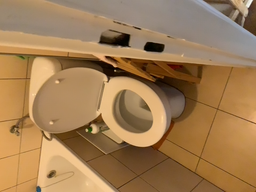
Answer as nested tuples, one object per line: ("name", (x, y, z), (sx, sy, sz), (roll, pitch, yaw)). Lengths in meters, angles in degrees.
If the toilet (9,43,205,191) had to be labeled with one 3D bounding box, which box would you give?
("toilet", (-0.110, 0.010, 1.220), (0.740, 0.770, 0.380), (26, 111, 35))
